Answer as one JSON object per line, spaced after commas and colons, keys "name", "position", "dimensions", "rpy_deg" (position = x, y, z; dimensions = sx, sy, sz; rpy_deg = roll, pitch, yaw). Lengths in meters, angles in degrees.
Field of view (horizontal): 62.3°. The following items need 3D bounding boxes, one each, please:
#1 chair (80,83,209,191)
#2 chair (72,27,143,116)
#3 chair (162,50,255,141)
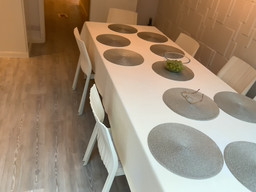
{"name": "chair", "position": [0.020, 0.370, 1.470], "dimensions": [0.610, 0.750, 0.540], "rpy_deg": [-1, 35, -18]}
{"name": "chair", "position": [-0.280, -0.270, 2.340], "dimensions": [0.610, 0.750, 0.570], "rpy_deg": [-1, 35, -18]}
{"name": "chair", "position": [0.810, -0.010, 2.230], "dimensions": [0.570, 0.780, 0.490], "rpy_deg": [-2, 35, -19]}
